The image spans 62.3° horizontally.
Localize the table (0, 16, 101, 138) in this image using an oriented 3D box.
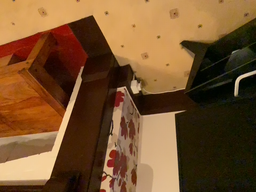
[{"bbox_3d":[-0.880,-0.050,1.640,1.100,0.380,0.690,-10,138,20],"label":"table"}]
